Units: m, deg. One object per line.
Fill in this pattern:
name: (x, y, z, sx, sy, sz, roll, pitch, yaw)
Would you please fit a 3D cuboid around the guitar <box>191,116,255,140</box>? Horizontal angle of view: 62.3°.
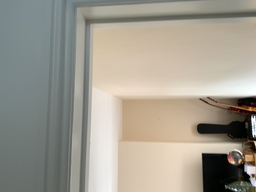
guitar: (1.680, 0.550, 3.710, 0.360, 1.040, 0.400, 45, -135, -81)
